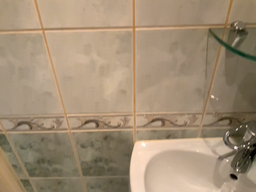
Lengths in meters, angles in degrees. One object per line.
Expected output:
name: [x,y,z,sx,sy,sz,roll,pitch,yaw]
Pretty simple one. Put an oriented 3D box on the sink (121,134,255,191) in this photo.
sink: [0.190,0.330,0.590,0.410,0.200,0.400,-1,37,0]
